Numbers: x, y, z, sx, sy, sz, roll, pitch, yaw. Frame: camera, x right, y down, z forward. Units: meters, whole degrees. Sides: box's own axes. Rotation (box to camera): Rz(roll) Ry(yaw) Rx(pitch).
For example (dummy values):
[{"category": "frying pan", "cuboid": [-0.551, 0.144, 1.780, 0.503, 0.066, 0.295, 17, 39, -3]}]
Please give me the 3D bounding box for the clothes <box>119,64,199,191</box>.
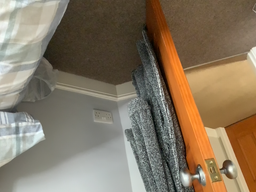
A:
[{"category": "clothes", "cuboid": [0.170, 0.510, 0.900, 0.180, 1.110, 0.630, -11, 151, 1]}]
